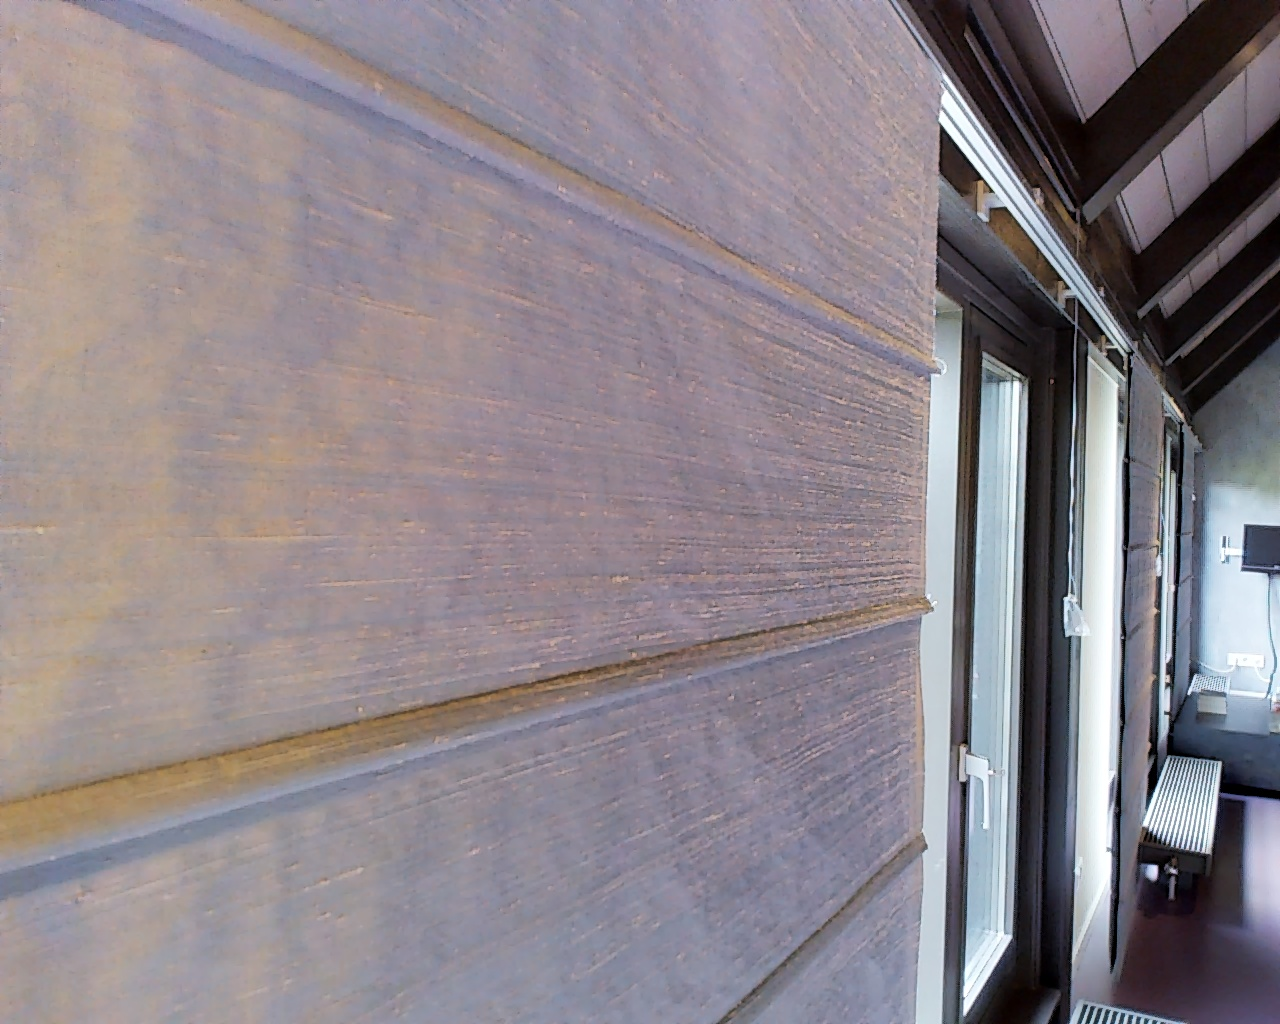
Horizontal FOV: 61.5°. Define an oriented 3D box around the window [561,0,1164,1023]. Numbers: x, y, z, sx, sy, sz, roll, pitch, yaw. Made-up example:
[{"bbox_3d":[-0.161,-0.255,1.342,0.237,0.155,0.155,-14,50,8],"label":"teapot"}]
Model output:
[{"bbox_3d":[0.580,0.370,1.900,0.460,1.810,1.870,1,0,30],"label":"window"}]
